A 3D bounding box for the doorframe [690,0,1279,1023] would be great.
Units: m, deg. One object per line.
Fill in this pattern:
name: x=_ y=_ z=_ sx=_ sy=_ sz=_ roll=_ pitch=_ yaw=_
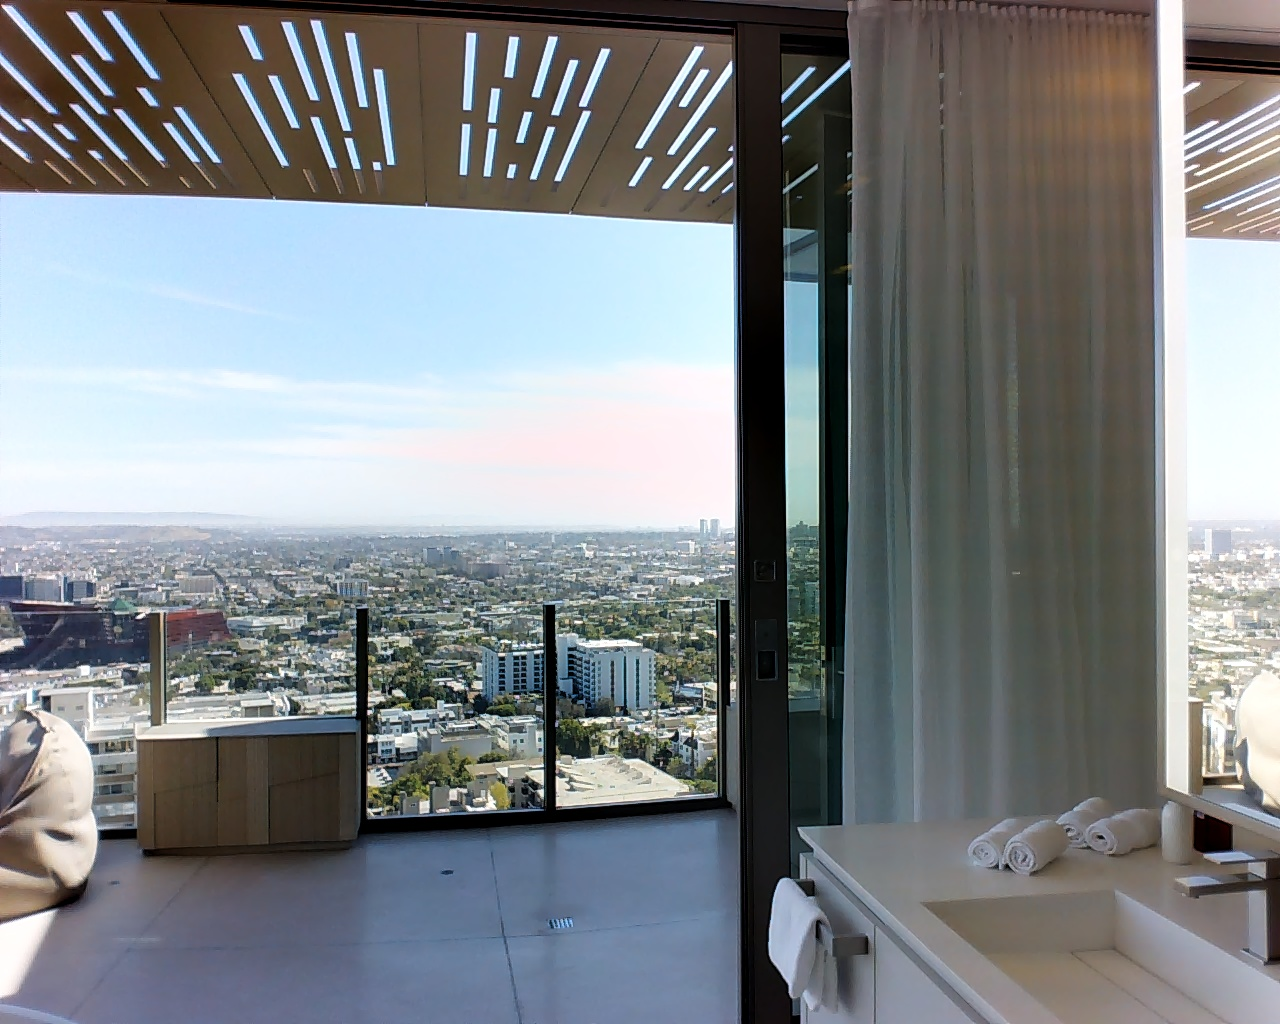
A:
doorframe: x=1.050 y=0.100 z=3.110 sx=1.760 sy=2.920 sz=0.330 roll=0 pitch=0 yaw=-11
